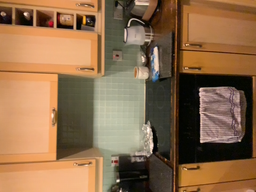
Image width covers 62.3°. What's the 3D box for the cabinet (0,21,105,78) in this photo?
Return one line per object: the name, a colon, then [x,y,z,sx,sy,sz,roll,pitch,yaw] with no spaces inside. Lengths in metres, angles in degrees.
cabinet: [-0.610,-0.320,1.600,0.340,0.820,0.320,180,90,-75]
